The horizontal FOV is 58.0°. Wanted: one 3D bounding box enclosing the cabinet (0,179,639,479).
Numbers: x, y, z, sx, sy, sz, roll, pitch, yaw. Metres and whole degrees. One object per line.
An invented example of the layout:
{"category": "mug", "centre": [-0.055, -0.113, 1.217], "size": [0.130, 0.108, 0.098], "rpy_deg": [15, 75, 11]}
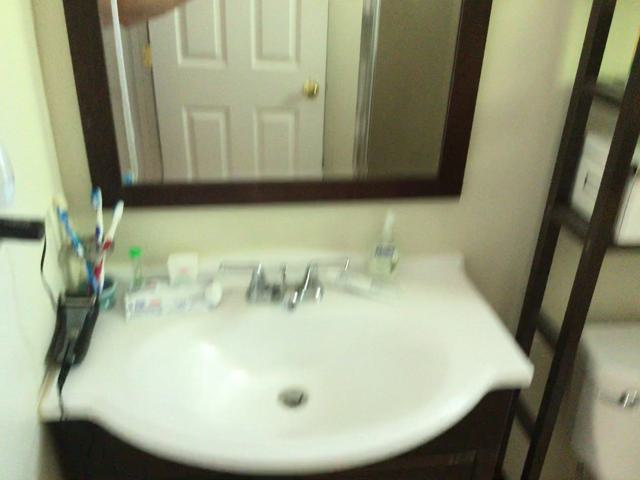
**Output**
{"category": "cabinet", "centre": [0.000, 0.480, 1.150], "size": [0.900, 1.080, 0.470], "rpy_deg": [-2, 27, -8]}
